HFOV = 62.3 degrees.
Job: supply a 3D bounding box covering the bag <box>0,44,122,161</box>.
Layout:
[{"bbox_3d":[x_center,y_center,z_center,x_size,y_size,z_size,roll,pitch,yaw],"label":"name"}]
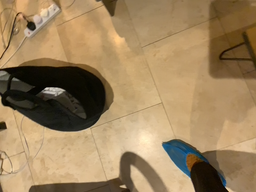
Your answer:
[{"bbox_3d":[-0.330,0.020,0.990,0.470,0.370,0.340,15,89,10],"label":"bag"}]
